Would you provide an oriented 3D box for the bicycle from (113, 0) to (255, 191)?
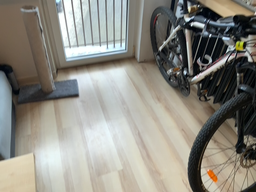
[{"bbox_3d":[0.440,-0.150,1.540,0.710,1.060,1.560,-11,45,-15],"label":"bicycle"}]
